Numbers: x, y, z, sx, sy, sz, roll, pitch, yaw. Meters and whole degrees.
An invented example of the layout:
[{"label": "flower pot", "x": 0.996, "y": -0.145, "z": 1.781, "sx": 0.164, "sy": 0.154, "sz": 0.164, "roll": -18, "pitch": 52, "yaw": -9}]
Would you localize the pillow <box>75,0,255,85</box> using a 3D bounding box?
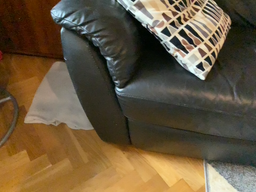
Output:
[{"label": "pillow", "x": 0.130, "y": -0.360, "z": 0.830, "sx": 0.410, "sy": 0.170, "sz": 0.650, "roll": -28, "pitch": 52, "yaw": -28}]
